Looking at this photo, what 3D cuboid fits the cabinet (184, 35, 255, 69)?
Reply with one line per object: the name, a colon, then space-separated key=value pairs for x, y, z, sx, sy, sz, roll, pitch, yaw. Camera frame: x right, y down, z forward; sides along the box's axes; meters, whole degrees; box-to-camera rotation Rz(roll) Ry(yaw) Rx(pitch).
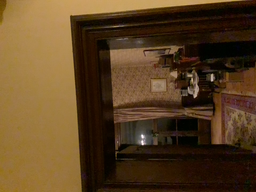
cabinet: x=1.530 y=-0.670 z=3.390 sx=0.910 sy=1.120 sz=0.390 roll=-38 pitch=-54 yaw=-81
